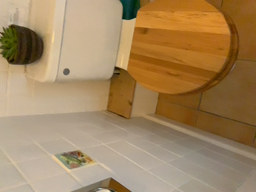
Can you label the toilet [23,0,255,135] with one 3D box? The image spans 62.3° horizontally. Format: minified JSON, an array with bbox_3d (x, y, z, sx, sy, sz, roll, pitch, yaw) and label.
[{"bbox_3d":[0.100,-0.220,0.940,0.700,0.780,0.460,18,102,41],"label":"toilet"}]
